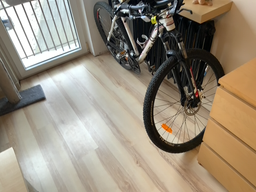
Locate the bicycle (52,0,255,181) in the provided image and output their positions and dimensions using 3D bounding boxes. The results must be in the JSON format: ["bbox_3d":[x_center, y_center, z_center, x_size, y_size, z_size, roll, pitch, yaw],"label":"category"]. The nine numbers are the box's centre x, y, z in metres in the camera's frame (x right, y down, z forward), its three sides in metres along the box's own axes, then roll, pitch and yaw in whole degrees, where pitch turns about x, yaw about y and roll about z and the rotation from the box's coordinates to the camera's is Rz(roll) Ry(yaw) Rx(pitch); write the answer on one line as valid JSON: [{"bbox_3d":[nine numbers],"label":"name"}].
[{"bbox_3d":[0.050,-0.350,1.780,0.710,1.060,1.560,-26,47,-21],"label":"bicycle"}]
